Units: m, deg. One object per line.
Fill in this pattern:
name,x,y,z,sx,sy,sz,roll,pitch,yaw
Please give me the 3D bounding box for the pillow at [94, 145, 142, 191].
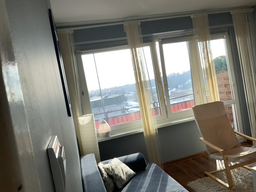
pillow,-0.100,0.880,2.420,0.160,0.360,0.480,-36,13,42
